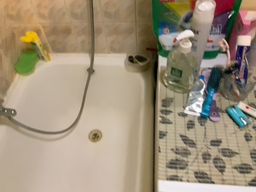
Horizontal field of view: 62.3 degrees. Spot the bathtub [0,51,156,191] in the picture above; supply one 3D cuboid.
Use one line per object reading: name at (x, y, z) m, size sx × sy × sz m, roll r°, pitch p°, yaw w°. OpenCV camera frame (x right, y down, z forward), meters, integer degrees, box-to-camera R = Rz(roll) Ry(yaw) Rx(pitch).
bathtub at (-0.240, 0.510, 0.970) m, size 0.680 × 0.600 × 1.420 m, roll 2°, pitch 54°, yaw 5°
